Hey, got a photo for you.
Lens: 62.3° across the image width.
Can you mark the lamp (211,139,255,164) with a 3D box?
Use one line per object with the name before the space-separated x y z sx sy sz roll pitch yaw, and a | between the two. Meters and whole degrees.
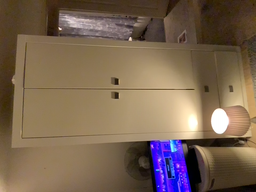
lamp | 1.060 0.510 2.010 0.300 0.400 0.190 137 132 -75
